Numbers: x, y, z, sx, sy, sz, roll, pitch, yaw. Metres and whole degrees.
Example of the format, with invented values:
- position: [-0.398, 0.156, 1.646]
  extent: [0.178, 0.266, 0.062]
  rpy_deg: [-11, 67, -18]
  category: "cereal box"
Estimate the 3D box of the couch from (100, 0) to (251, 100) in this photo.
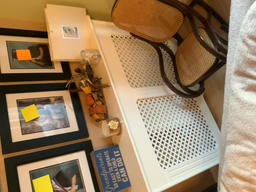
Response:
- position: [0.310, -0.400, 1.480]
  extent: [0.430, 0.730, 0.670]
  rpy_deg: [-45, 59, 47]
  category: "couch"
